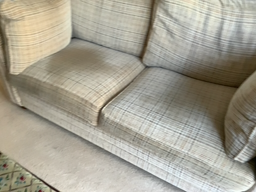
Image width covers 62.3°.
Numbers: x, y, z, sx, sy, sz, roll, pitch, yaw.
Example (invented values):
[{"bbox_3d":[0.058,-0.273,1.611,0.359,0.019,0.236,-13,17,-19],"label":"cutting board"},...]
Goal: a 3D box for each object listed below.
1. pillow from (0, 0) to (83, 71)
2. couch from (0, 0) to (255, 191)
[{"bbox_3d":[-0.590,-0.520,1.440,0.210,0.390,0.660,15,41,16],"label":"pillow"},{"bbox_3d":[0.070,-0.230,1.420,2.030,0.900,1.040,22,45,22],"label":"couch"}]
